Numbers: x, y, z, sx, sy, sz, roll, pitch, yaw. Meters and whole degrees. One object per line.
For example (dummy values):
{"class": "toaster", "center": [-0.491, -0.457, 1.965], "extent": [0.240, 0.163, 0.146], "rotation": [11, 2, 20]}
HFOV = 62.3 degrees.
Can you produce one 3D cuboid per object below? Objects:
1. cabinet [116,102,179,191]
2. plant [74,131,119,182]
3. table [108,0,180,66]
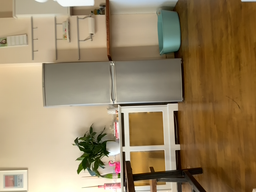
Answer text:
{"class": "cabinet", "center": [0.260, 0.790, 3.060], "extent": [0.370, 0.820, 1.390], "rotation": [163, 105, -88]}
{"class": "plant", "center": [-0.410, 0.810, 2.940], "extent": [0.430, 0.560, 0.560], "rotation": [163, 105, -88]}
{"class": "table", "center": [0.190, -0.840, 2.950], "extent": [0.610, 0.880, 0.740], "rotation": [163, 105, -88]}
